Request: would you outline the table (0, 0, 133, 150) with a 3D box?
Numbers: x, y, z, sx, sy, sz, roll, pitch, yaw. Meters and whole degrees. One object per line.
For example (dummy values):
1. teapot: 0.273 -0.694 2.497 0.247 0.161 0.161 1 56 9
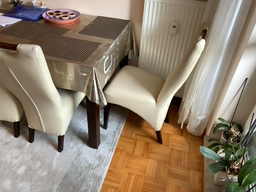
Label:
1. table: -0.740 -0.280 1.940 1.330 0.770 0.930 12 39 9
